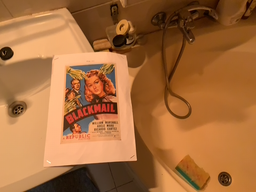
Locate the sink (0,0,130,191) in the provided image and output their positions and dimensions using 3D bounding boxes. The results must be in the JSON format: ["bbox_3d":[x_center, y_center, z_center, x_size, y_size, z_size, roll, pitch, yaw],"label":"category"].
[{"bbox_3d":[-0.360,0.050,0.620,0.600,0.220,0.490,-18,68,-6],"label":"sink"}]
